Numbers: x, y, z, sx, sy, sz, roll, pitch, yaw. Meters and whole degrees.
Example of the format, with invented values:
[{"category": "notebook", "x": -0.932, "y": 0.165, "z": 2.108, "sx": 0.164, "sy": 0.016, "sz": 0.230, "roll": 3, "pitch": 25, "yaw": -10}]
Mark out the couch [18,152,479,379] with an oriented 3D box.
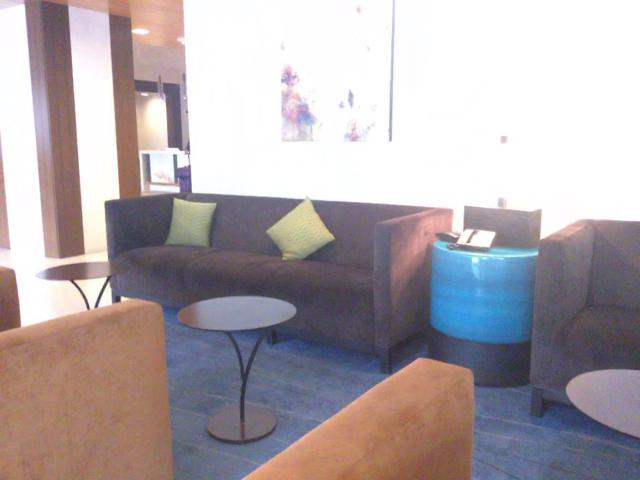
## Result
[{"category": "couch", "x": -0.530, "y": -0.030, "z": 3.680, "sx": 2.790, "sy": 0.970, "sz": 1.030, "roll": 5, "pitch": 13, "yaw": 30}]
